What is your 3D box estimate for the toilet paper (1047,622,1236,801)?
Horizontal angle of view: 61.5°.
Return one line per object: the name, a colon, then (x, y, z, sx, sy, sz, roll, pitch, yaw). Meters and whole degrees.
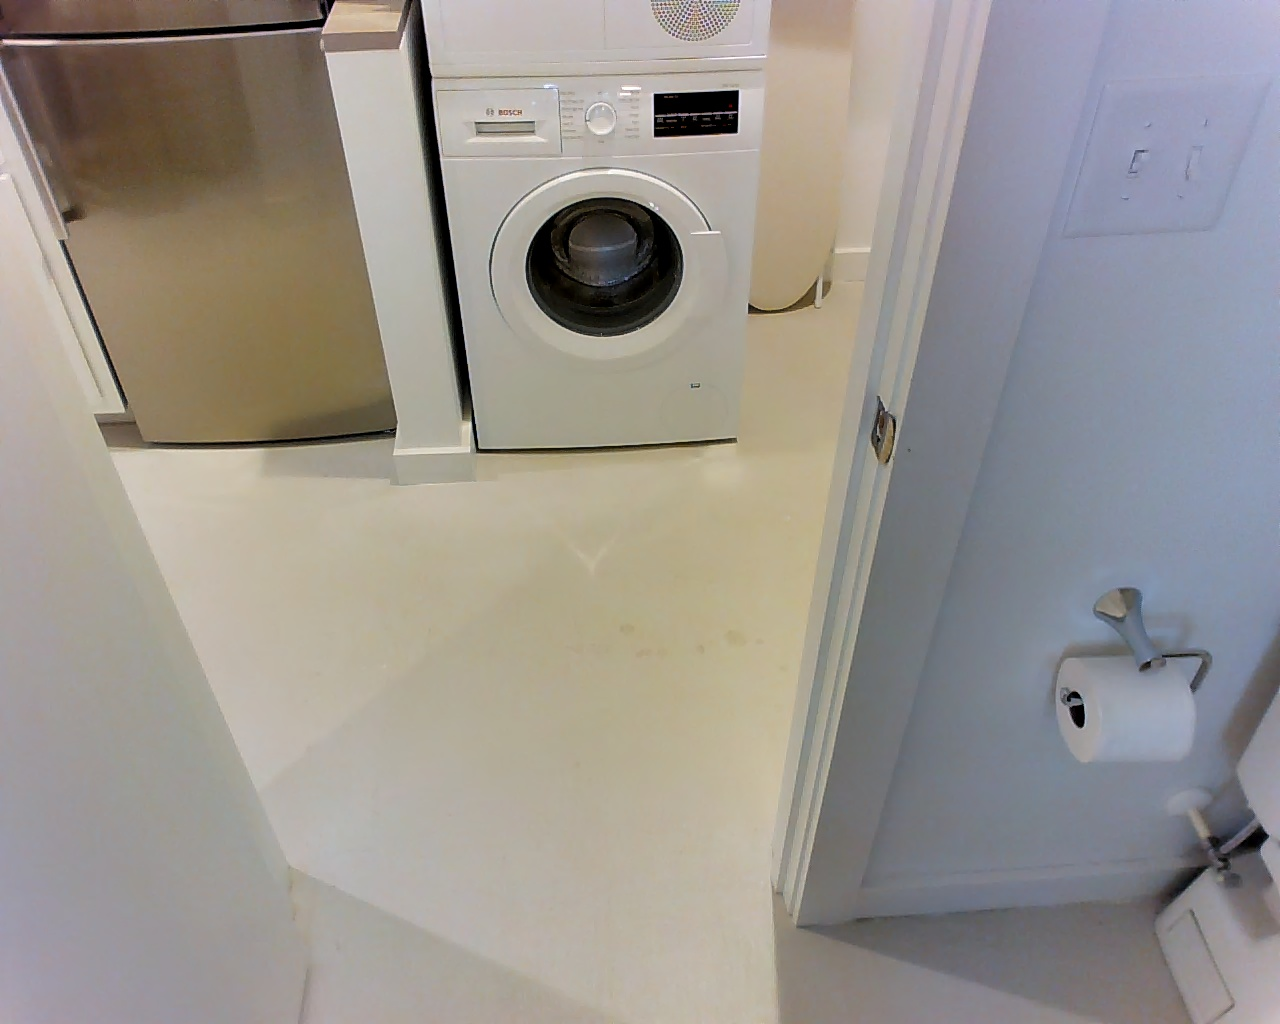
toilet paper: (0.570, 0.230, 1.240, 0.120, 0.140, 0.140, -3, 43, -3)
